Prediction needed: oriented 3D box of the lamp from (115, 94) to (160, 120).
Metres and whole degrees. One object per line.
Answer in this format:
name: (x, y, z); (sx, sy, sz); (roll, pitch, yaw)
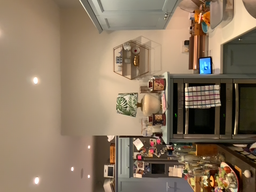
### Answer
lamp: (0.100, 0.120, 2.430); (0.250, 0.490, 0.270); (-88, -1, -88)
